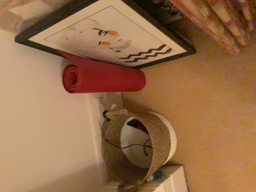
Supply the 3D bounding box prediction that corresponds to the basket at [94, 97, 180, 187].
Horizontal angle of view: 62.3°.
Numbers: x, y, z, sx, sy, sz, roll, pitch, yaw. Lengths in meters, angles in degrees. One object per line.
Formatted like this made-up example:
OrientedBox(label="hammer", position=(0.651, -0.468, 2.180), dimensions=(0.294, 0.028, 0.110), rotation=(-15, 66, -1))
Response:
OrientedBox(label="basket", position=(0.060, 0.270, 1.320), dimensions=(0.330, 0.330, 0.450), rotation=(-15, 83, 34))
